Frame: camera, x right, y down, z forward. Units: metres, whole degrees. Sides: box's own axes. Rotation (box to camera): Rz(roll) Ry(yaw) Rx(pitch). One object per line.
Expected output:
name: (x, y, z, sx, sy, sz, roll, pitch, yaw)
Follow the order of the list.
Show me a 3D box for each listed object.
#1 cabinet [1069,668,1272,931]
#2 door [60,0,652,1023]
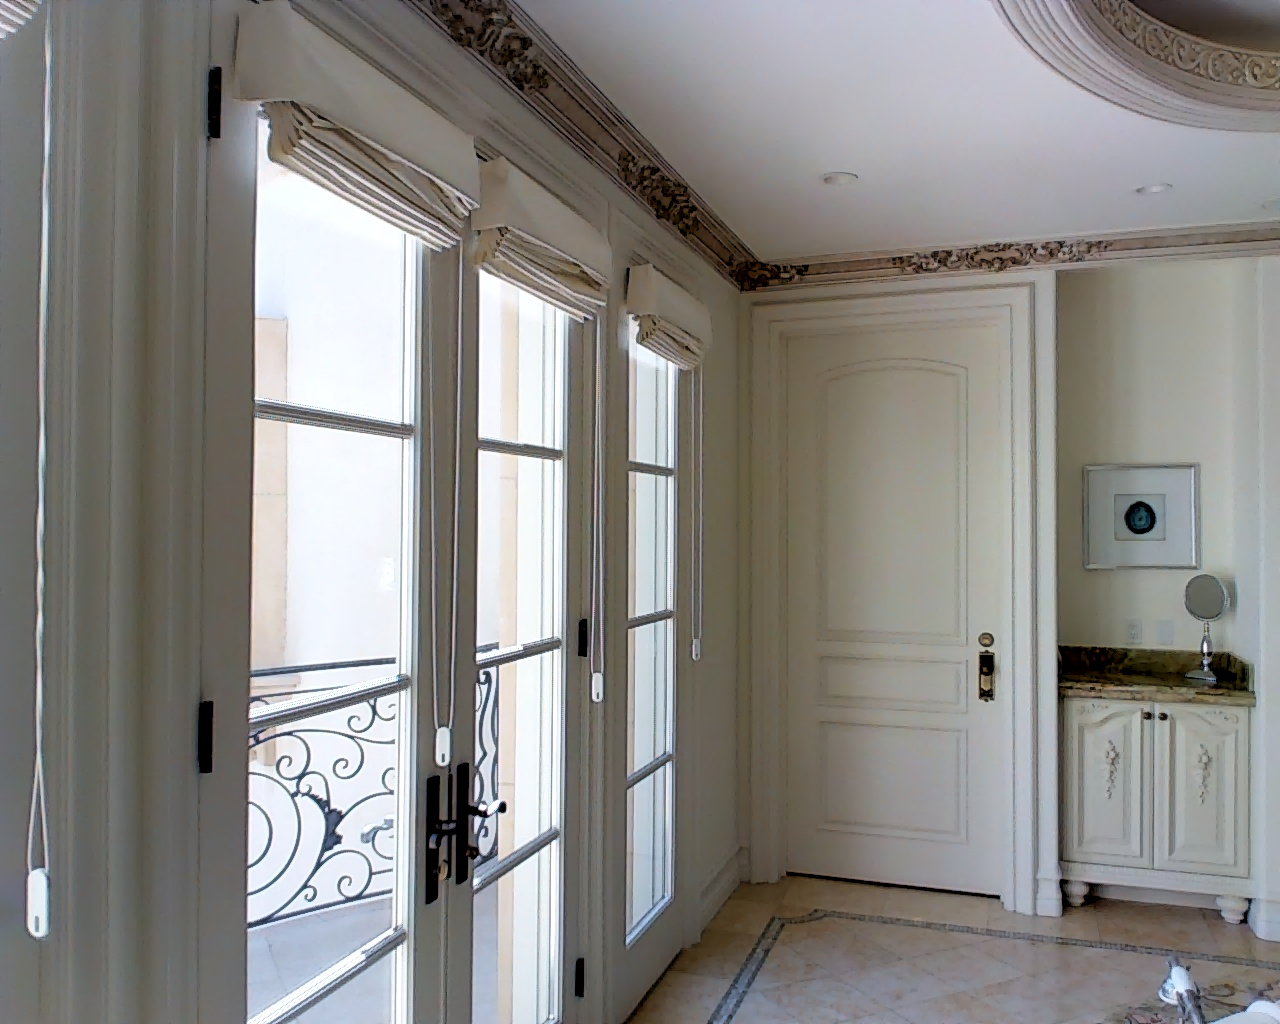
cabinet: (2.189, 1.160, 4.490, 0.700, 0.920, 0.490, 0, -1, 19)
door: (-0.370, 0.310, 2.300, 0.200, 2.551, 1.900, 0, -1, 19)
